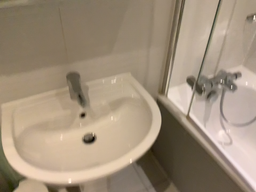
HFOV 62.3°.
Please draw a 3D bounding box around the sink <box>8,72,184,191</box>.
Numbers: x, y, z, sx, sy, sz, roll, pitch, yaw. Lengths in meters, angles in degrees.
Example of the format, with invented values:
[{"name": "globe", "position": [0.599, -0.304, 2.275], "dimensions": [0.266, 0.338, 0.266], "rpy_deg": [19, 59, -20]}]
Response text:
[{"name": "sink", "position": [-0.140, 0.140, 0.900], "dimensions": [0.600, 0.180, 0.390], "rpy_deg": [-16, 43, -21]}]
